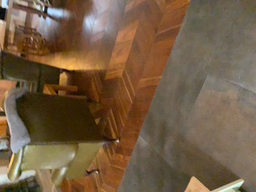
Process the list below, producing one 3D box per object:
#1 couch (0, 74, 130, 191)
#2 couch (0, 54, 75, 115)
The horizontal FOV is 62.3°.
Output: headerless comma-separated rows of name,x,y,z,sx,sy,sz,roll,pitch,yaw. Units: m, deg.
couch,-0.760,0.420,2.270,0.830,1.030,0.880,53,126,39
couch,-1.530,-0.190,3.270,0.870,1.020,0.770,16,100,50
